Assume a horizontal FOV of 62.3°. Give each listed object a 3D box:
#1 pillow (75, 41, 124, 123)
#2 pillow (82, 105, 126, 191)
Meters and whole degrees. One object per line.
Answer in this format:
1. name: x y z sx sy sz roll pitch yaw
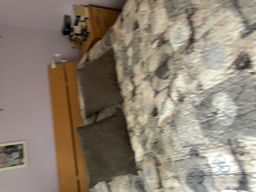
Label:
1. pillow: -0.270 -0.100 1.830 0.220 0.440 0.560 -2 72 -27
2. pillow: -0.170 0.410 1.640 0.210 0.490 0.530 -9 71 -3
